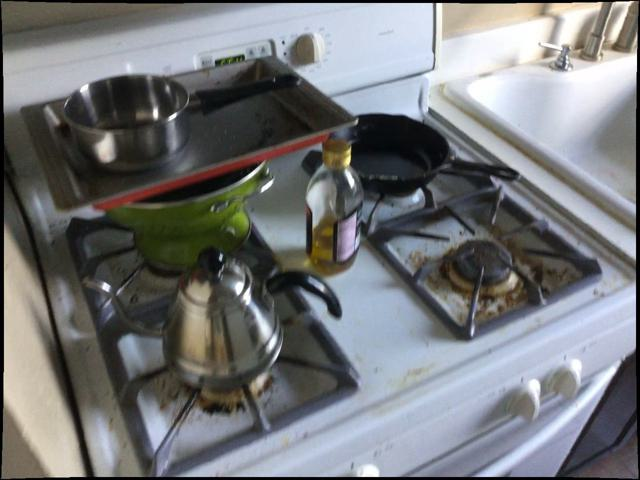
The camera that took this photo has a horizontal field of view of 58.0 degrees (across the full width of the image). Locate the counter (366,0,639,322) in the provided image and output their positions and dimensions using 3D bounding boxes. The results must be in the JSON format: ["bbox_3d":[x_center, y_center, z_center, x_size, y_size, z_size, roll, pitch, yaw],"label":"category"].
[{"bbox_3d":[0.848,-0.371,1.170,1.358,0.180,0.650,-20,46,-19],"label":"counter"}]
